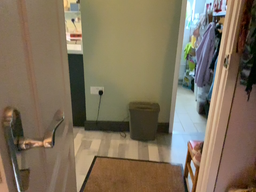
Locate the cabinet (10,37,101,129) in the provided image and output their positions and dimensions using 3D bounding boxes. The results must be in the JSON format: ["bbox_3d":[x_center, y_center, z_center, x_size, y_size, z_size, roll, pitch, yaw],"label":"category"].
[{"bbox_3d":[-0.810,-0.280,2.860,0.680,0.860,1.340,2,21,1],"label":"cabinet"}]
